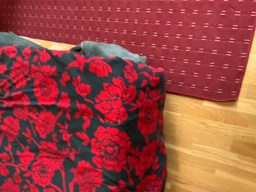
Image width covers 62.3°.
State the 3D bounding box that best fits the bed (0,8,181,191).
[{"bbox_3d":[-0.820,0.160,1.470,2.100,0.470,1.310,10,101,26],"label":"bed"}]
